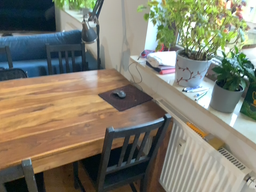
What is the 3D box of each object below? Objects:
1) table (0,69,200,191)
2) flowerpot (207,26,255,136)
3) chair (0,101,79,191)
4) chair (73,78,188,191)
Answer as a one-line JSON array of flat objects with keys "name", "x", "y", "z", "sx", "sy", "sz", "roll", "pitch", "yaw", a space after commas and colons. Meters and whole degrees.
[{"name": "table", "x": -0.560, "y": 0.420, "z": 1.310, "sx": 1.650, "sy": 0.750, "sz": 0.840, "roll": -10, "pitch": 34, "yaw": -27}, {"name": "flowerpot", "x": 0.650, "y": -0.080, "z": 1.030, "sx": 0.320, "sy": 0.450, "sz": 0.230, "roll": -7, "pitch": 32, "yaw": -22}, {"name": "chair", "x": -0.540, "y": 0.540, "z": 1.030, "sx": 0.480, "sy": 0.840, "sz": 0.490, "roll": -9, "pitch": 33, "yaw": -26}, {"name": "chair", "x": -0.050, "y": 0.390, "z": 1.400, "sx": 0.480, "sy": 0.840, "sz": 0.490, "roll": -9, "pitch": 33, "yaw": -26}]
